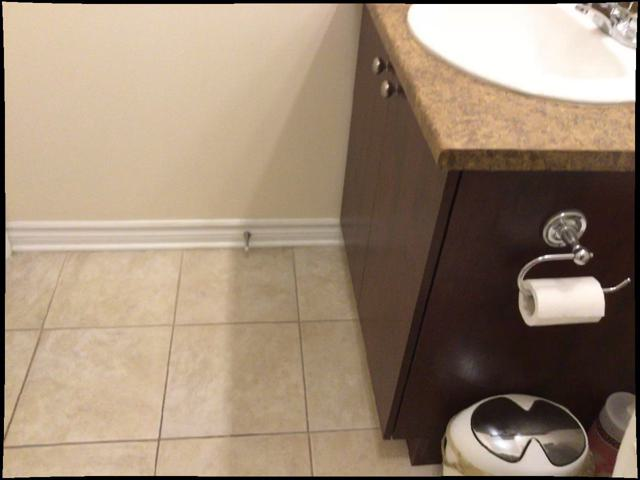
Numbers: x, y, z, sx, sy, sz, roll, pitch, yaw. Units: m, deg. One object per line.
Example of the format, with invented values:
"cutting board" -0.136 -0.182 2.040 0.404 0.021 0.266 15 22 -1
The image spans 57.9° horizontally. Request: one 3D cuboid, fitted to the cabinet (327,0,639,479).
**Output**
"cabinet" 0.380 -0.100 1.290 0.569 0.921 0.820 -2 42 -7
